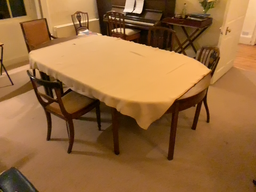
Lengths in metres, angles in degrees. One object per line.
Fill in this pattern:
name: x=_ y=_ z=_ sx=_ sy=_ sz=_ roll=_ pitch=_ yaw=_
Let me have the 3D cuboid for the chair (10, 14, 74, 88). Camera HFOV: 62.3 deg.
chair: x=-1.330 y=-0.730 z=3.390 sx=0.510 sy=0.950 sz=0.610 roll=23 pitch=38 yaw=34

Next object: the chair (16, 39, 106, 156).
chair: x=-0.630 y=-0.010 z=2.180 sx=0.530 sy=0.950 sz=0.540 roll=23 pitch=38 yaw=33

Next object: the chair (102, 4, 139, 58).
chair: x=-0.140 y=-1.340 z=4.330 sx=0.560 sy=0.920 sz=0.440 roll=22 pitch=37 yaw=32
